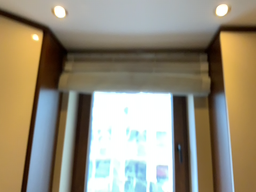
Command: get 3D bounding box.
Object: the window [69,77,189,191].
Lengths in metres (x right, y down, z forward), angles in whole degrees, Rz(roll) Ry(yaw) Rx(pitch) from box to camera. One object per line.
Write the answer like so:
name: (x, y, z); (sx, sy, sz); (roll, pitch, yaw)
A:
window: (0.010, 0.410, 1.590); (0.830, 1.110, 0.140); (0, -14, 6)
